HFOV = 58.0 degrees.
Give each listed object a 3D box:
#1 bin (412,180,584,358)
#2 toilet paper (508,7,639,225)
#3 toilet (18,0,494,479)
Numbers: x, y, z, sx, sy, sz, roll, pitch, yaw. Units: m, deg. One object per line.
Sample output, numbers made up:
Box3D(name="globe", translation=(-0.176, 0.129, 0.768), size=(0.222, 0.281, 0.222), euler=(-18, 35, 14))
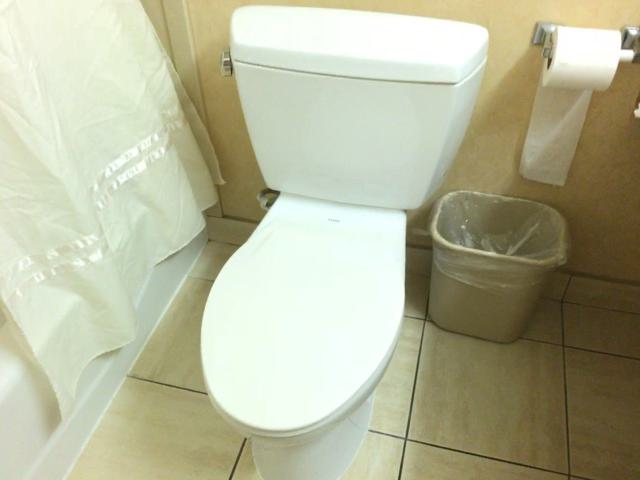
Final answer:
Box3D(name="bin", translation=(0.410, 0.070, 1.390), size=(0.320, 0.320, 0.220), euler=(9, 44, 11))
Box3D(name="toilet paper", translation=(0.500, -0.230, 1.140), size=(0.170, 0.400, 0.120), euler=(9, 44, 11))
Box3D(name="toilet", translation=(0.000, 0.050, 1.130), size=(0.510, 0.740, 0.750), euler=(9, 44, 11))
